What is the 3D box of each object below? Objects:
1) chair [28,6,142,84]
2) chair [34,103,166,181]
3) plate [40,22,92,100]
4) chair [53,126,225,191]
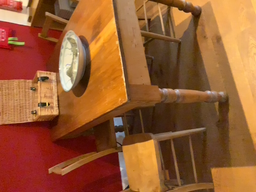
[{"bbox_3d":[-0.380,-0.400,1.920,0.380,0.890,0.440,-30,65,51],"label":"chair"},{"bbox_3d":[-0.200,0.320,1.640,0.380,0.890,0.440,-25,69,53],"label":"chair"},{"bbox_3d":[-0.400,-0.230,1.290,0.470,0.140,0.390,25,110,53],"label":"plate"},{"bbox_3d":[0.090,0.450,1.220,0.370,0.890,0.430,-29,66,52],"label":"chair"}]
